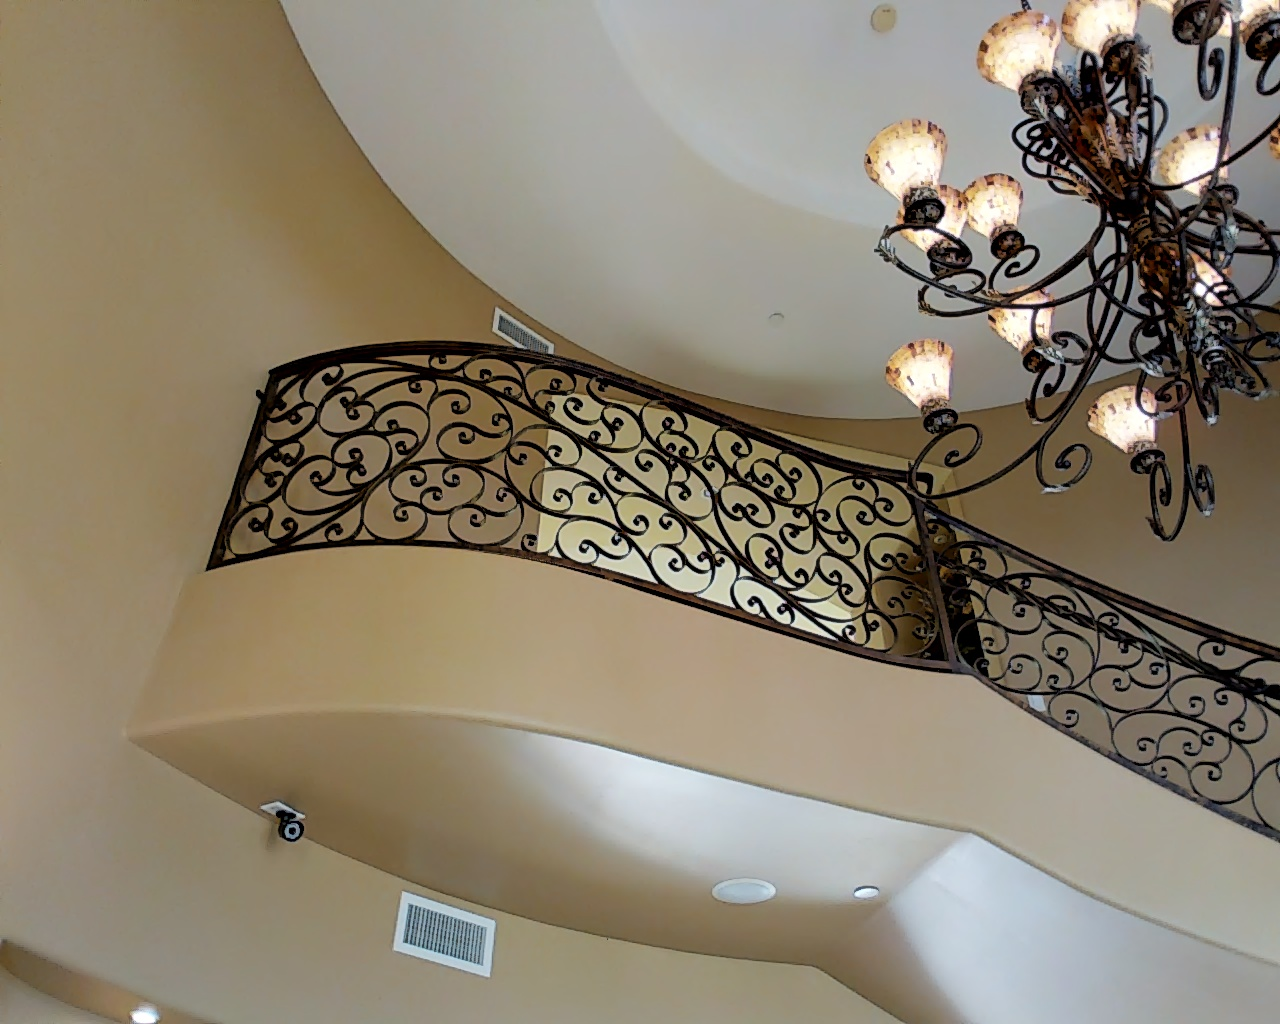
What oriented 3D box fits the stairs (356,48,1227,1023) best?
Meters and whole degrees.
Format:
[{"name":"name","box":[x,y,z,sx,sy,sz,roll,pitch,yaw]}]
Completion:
[{"name":"stairs","box":[0.710,0.470,6.990,1.420,6.081,2.550,-31,-2,-37]}]
